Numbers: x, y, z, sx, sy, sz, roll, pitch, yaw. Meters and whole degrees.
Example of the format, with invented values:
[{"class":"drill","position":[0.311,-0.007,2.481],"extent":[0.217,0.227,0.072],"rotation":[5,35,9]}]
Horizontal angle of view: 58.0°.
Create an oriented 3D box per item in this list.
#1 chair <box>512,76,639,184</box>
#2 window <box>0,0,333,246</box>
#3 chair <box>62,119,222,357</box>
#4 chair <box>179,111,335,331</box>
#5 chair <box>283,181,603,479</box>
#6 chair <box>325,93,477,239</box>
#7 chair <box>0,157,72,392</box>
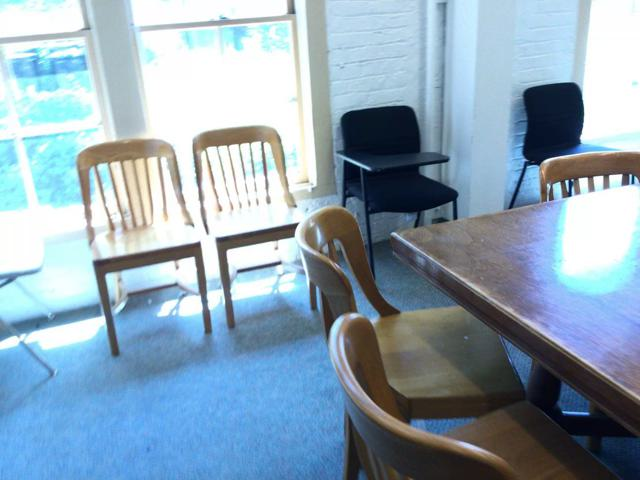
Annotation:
[{"class":"chair","position":[1.480,-0.650,3.290],"extent":[0.480,0.480,0.550],"rotation":[-11,21,-18]},{"class":"window","position":[-0.830,-0.690,2.860],"extent":[1.730,1.120,0.300],"rotation":[-11,21,-18]},{"class":"chair","position":[-0.840,-0.060,2.740],"extent":[0.500,0.880,0.720],"rotation":[-11,21,-18]},{"class":"chair","position":[-0.310,-0.130,2.810],"extent":[0.530,0.860,0.590],"rotation":[-11,21,-18]},{"class":"chair","position":[0.280,0.340,1.630],"extent":[0.610,0.820,0.630],"rotation":[-8,20,-9]},{"class":"chair","position":[0.400,-0.410,2.960],"extent":[0.530,0.570,0.590],"rotation":[-11,21,-18]},{"class":"chair","position":[-1.420,0.140,2.430],"extent":[0.520,0.810,0.600],"rotation":[-11,21,-18]}]
